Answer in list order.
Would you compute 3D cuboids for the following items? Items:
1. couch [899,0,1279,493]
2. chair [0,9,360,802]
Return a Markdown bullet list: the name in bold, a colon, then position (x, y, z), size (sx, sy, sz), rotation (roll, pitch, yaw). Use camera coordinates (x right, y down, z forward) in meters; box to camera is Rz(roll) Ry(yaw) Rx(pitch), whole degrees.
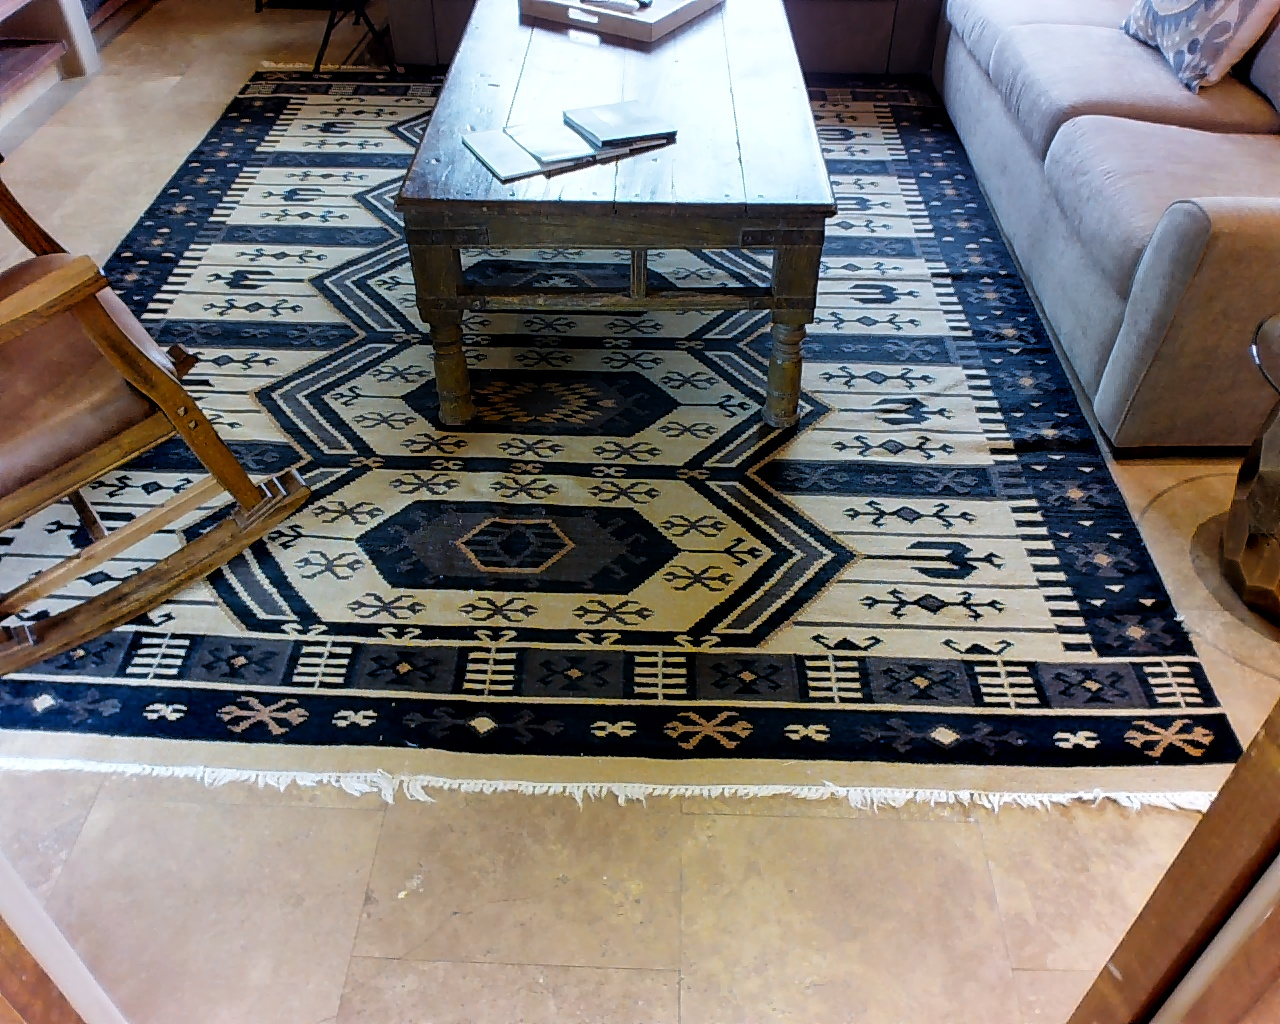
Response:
- **couch**: position (1.450, -1.120, 2.770), size (1.050, 0.890, 2.250), rotation (1, 42, 1)
- **chair**: position (-1.260, -0.230, 1.650), size (0.960, 1.210, 0.700), rotation (-40, 41, -18)
